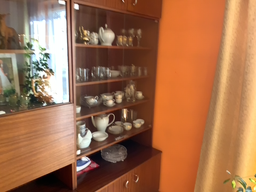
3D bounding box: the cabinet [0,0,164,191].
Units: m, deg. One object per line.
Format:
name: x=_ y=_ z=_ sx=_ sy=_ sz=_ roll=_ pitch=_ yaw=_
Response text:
cabinet: x=-0.500 y=-0.300 z=1.510 sx=0.380 sy=1.580 sz=2.050 roll=13 pitch=16 yaw=40
